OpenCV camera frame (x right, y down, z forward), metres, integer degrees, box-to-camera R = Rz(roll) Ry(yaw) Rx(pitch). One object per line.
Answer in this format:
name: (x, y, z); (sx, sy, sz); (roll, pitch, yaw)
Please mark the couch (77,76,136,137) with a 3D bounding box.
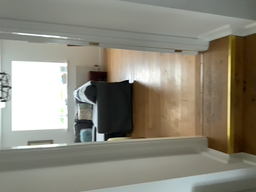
couch: (-0.490, 0.170, 4.080); (1.540, 0.810, 0.930); (176, 93, -72)
